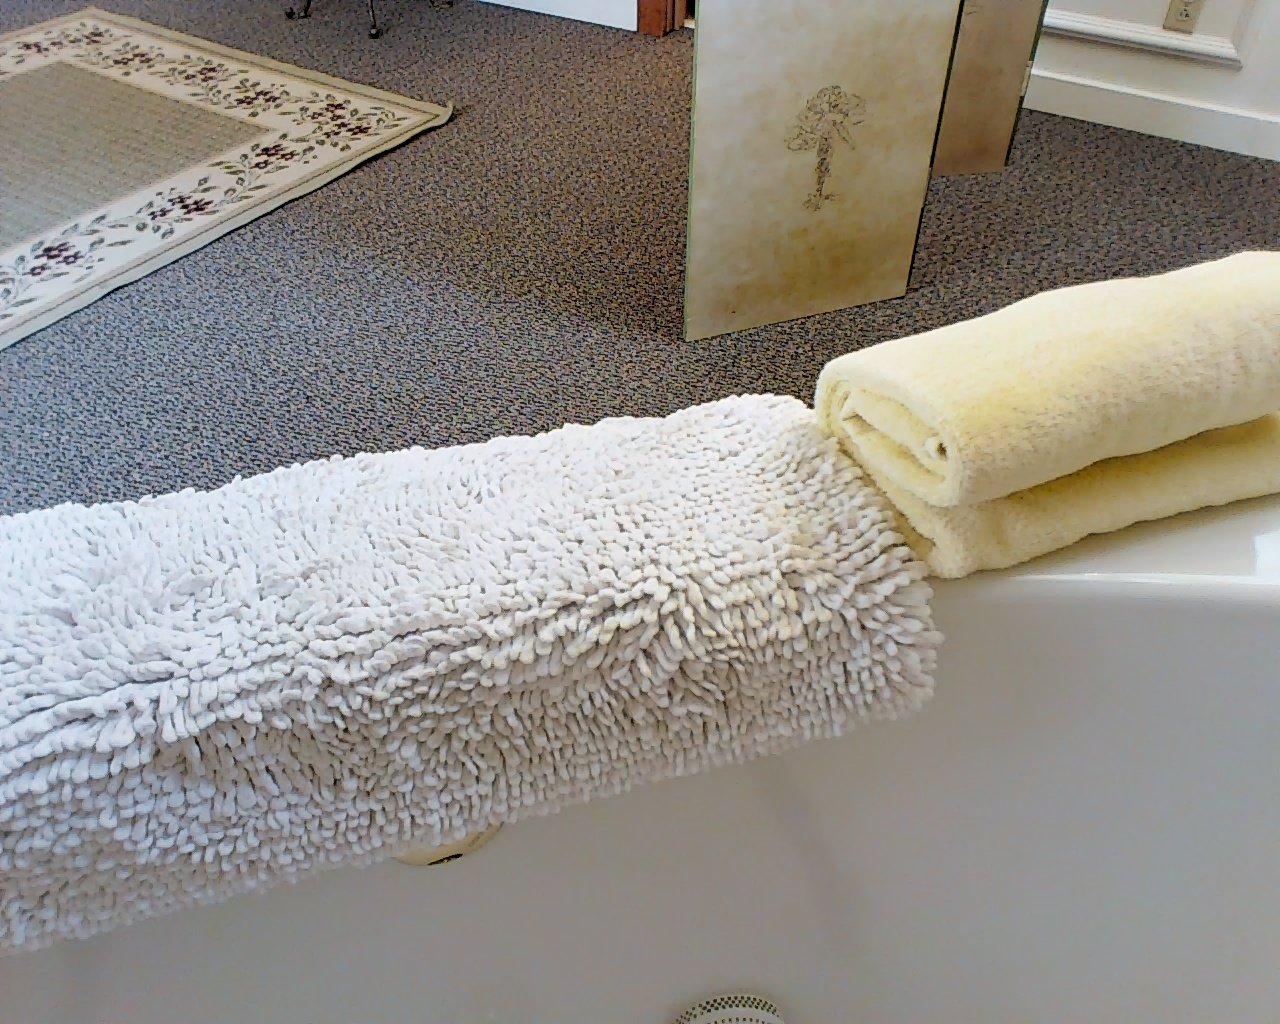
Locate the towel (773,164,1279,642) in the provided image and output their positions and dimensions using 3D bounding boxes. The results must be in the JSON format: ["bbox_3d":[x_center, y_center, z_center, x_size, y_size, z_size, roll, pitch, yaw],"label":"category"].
[{"bbox_3d":[0.300,-0.080,0.690,0.370,0.180,0.210,-7,43,-7],"label":"towel"}]
